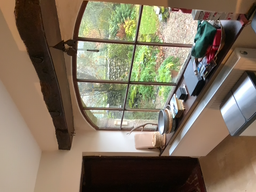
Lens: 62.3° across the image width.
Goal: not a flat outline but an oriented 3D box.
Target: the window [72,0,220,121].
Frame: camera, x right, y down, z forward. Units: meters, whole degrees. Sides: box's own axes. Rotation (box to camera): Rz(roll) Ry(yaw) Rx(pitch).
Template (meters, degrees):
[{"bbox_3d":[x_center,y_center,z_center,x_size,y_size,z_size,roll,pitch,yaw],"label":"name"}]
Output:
[{"bbox_3d":[0.070,-0.400,2.460,2.330,1.290,0.100,101,168,-50],"label":"window"}]
